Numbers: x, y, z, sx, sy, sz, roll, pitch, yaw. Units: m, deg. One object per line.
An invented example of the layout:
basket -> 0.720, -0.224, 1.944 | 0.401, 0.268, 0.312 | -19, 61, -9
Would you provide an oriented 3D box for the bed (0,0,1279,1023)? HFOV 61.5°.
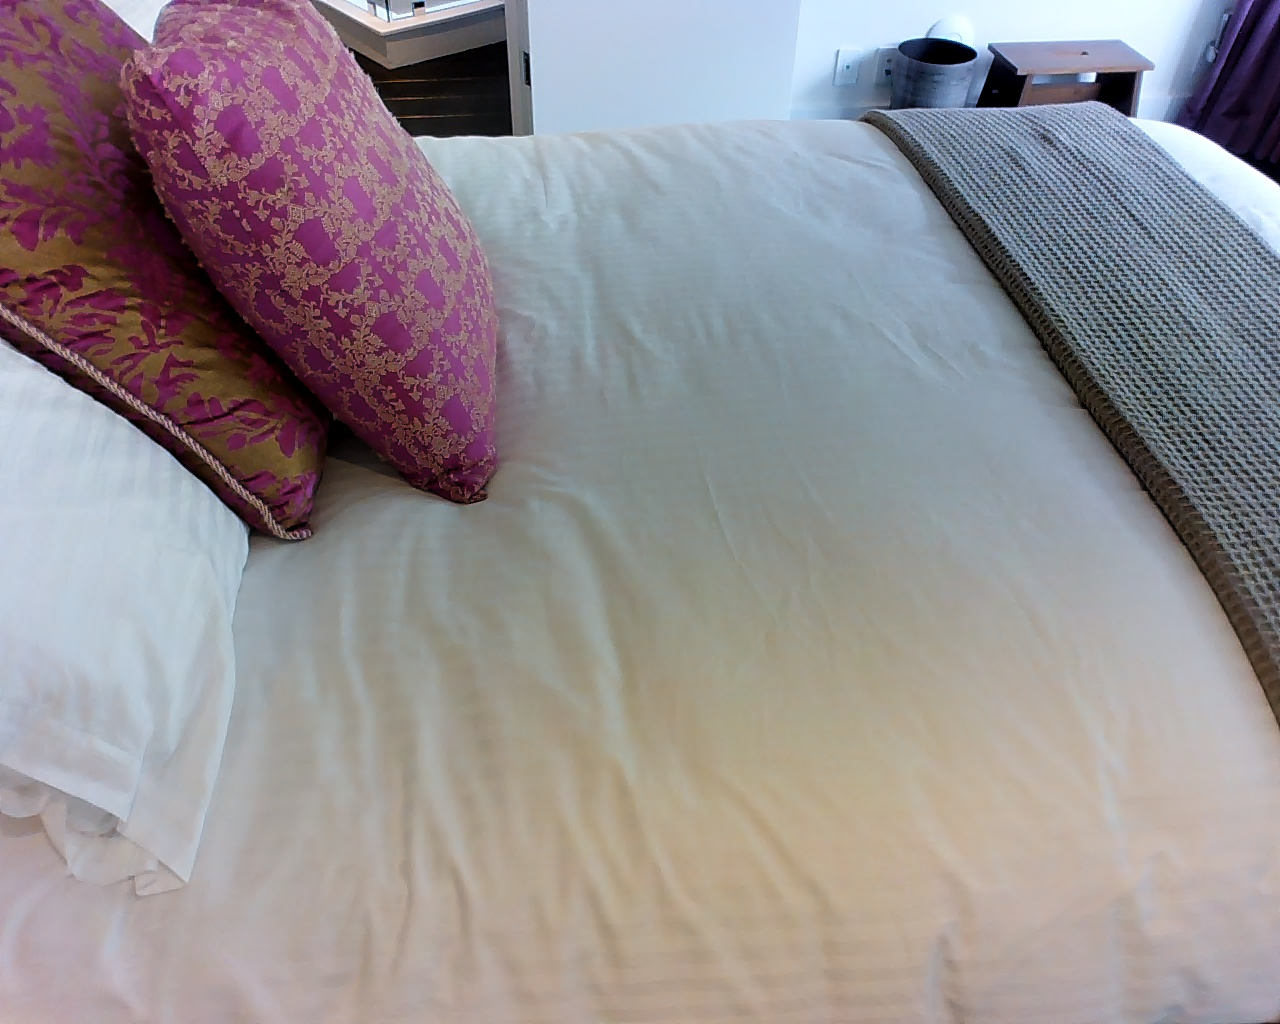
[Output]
bed -> 0.190, -0.080, 1.630 | 2.380, 1.060, 1.920 | -5, 42, -5
